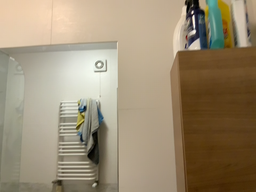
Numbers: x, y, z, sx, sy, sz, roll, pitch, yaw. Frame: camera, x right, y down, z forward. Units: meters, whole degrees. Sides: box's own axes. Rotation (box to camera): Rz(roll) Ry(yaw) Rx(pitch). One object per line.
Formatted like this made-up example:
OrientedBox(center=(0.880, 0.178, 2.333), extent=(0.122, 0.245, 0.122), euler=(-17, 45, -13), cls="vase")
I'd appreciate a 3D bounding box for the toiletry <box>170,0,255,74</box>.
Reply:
OrientedBox(center=(0.310, -0.270, 0.770), extent=(0.280, 0.330, 0.200), euler=(-2, -9, 6), cls="toiletry")
